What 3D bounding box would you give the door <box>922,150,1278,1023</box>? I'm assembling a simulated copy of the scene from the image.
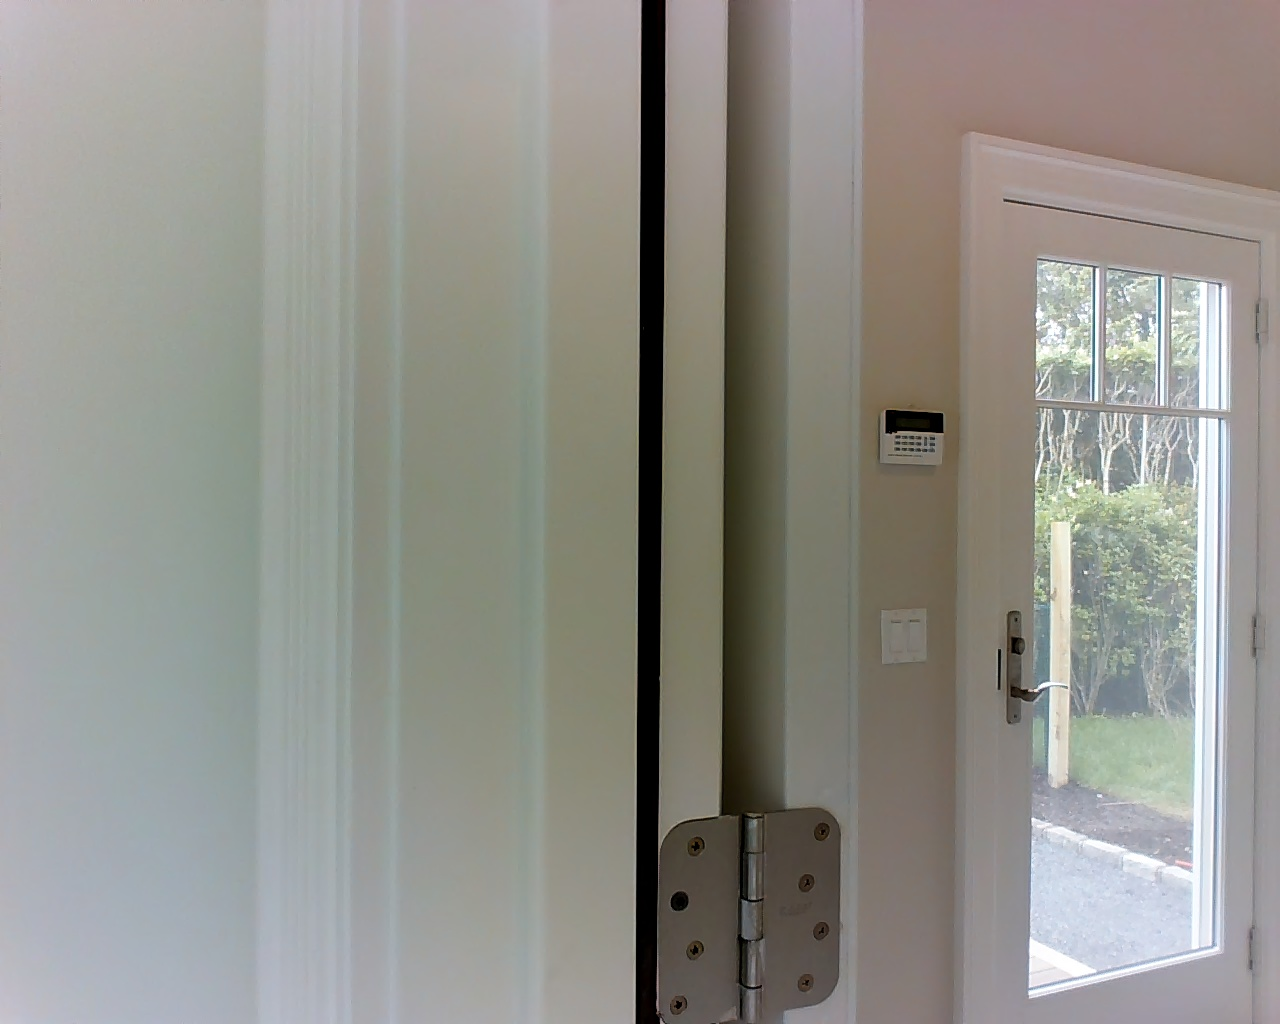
[{"bbox_3d":[1.140,0.320,2.620,0.980,2.220,0.140,0,0,-24],"label":"door"}]
